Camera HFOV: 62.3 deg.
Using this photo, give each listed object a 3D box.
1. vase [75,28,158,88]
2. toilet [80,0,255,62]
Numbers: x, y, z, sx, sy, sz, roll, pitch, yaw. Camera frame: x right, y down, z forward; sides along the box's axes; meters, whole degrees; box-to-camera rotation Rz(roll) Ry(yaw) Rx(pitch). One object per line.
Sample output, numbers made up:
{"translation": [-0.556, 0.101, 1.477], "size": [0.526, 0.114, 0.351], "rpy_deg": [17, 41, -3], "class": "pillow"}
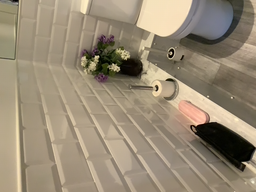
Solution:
{"translation": [-0.100, -0.290, 1.640], "size": [0.340, 0.490, 0.310], "rpy_deg": [46, 126, 51], "class": "vase"}
{"translation": [0.210, -0.560, 1.340], "size": [0.630, 0.810, 0.400], "rpy_deg": [47, 127, 51], "class": "toilet"}
